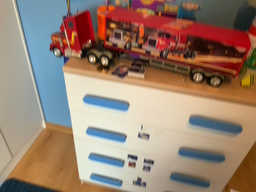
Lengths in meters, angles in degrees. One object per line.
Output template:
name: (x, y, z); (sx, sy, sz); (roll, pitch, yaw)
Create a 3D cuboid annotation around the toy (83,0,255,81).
toy: (0.180, -0.260, 0.870); (0.630, 0.130, 0.320); (11, 40, 7)
